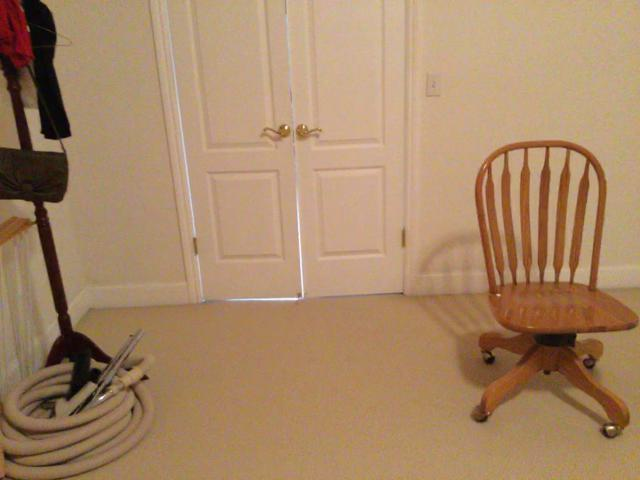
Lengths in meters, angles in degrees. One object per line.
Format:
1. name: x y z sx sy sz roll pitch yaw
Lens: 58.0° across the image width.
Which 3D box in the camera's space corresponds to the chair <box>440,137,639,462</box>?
1. chair: 0.810 0.170 2.010 0.610 0.930 0.530 -7 16 -1
